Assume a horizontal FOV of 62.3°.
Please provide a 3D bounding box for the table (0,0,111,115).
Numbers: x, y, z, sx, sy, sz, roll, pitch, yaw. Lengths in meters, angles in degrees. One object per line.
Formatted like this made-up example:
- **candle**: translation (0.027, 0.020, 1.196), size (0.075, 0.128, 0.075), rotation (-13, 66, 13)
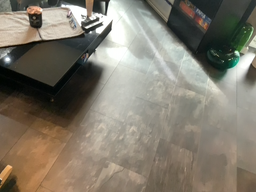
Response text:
- **table**: translation (-0.690, -0.440, 1.800), size (0.740, 0.360, 0.990), rotation (21, 48, 6)
